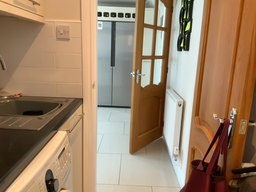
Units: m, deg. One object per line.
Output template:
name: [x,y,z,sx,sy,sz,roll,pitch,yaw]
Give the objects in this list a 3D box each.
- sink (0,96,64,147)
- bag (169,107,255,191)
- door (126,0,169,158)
sink: [-0.630,0.130,1.250,0.390,0.160,0.390,3,12,-1]
bag: [0.310,0.400,0.890,0.160,0.630,0.370,2,12,-4]
door: [0.250,-0.240,2.670,0.070,1.940,0.670,12,15,35]
